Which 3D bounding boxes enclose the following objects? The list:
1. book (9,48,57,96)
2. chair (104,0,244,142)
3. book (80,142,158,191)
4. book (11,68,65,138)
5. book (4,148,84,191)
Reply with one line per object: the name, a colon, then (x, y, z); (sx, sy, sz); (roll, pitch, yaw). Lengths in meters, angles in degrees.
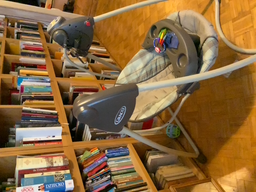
book: (-0.910, -0.220, 2.010); (0.320, 0.370, 0.300); (57, 135, 46)
chair: (0.180, -0.130, 1.180); (0.460, 0.370, 0.590); (61, 139, 43)
book: (-0.070, 0.480, 1.260); (0.310, 0.330, 0.230); (59, 137, 44)
book: (-0.730, 0.040, 1.680); (0.490, 0.330, 0.300); (56, 135, 46)
book: (-0.440, 0.510, 1.070); (0.310, 0.320, 0.340); (56, 135, 46)
